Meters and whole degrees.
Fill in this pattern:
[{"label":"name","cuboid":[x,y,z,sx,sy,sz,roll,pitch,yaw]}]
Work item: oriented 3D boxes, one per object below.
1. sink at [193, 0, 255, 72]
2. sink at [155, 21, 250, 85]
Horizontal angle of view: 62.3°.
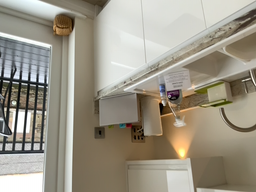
[{"label":"sink","cuboid":[0.600,-0.300,0.950,0.450,0.190,0.370,9,161,-34]},{"label":"sink","cuboid":[0.420,-0.210,1.200,0.450,0.160,0.280,9,161,-34]}]
